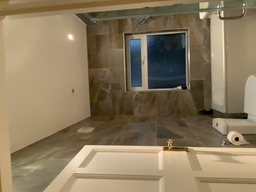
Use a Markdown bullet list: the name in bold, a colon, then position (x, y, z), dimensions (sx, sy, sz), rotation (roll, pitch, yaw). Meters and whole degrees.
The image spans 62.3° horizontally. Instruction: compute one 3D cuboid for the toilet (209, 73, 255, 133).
- **toilet**: position (1.350, 0.060, 2.320), dimensions (0.400, 0.790, 0.610), rotation (-28, -63, -82)
